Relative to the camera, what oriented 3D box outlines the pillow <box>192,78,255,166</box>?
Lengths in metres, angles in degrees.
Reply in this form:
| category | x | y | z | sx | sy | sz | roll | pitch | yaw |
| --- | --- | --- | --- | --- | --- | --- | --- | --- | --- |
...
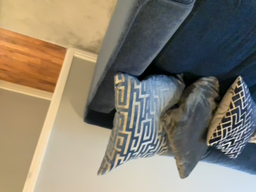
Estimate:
| category | x | y | z | sx | sy | sz | roll | pitch | yaw |
| --- | --- | --- | --- | --- | --- | --- | --- | --- | --- |
| pillow | 0.630 | 0.170 | 1.300 | 0.200 | 0.310 | 0.460 | -35 | 132 | 11 |

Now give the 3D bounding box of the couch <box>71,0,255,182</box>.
| category | x | y | z | sx | sy | sz | roll | pitch | yaw |
| --- | --- | --- | --- | --- | --- | --- | --- | --- | --- |
| couch | 1.080 | 0.110 | 1.420 | 2.620 | 0.760 | 1.140 | 15 | 153 | -15 |
